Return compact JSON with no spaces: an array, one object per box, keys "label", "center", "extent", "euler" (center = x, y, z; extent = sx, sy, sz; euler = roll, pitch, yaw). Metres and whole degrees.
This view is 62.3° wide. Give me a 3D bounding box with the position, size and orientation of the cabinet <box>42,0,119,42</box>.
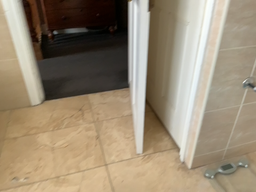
[{"label":"cabinet","center":[-0.730,-1.490,3.150],"extent":[1.040,1.120,0.550],"euler":[-10,34,-16]}]
